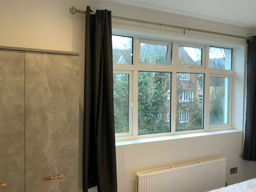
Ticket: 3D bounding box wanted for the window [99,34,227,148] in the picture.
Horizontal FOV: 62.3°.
[{"bbox_3d":[0.620,-0.070,3.020,2.130,1.330,0.120,-1,3,-28],"label":"window"}]
